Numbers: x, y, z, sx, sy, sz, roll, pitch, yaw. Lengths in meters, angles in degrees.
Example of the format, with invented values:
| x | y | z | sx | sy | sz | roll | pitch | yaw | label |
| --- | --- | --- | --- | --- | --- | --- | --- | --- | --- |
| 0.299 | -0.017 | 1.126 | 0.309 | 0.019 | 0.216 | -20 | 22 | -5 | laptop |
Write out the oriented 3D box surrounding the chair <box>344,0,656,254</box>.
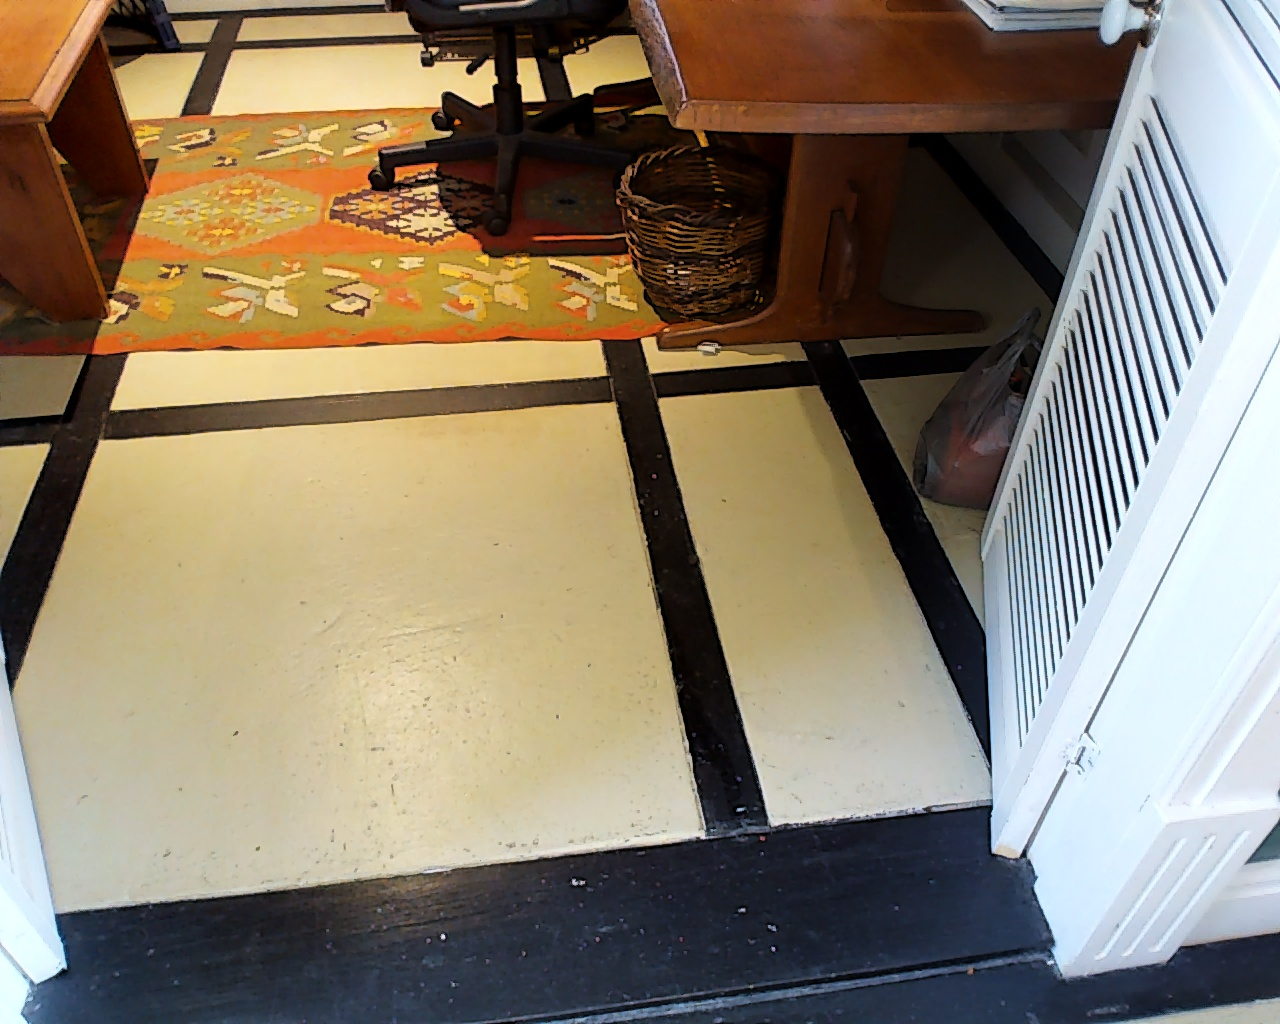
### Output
| x | y | z | sx | sy | sz | roll | pitch | yaw | label |
| --- | --- | --- | --- | --- | --- | --- | --- | --- | --- |
| -0.340 | -1.280 | 2.510 | 0.640 | 1.060 | 0.740 | -5 | 43 | -8 | chair |

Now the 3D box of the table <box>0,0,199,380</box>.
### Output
| x | y | z | sx | sy | sz | roll | pitch | yaw | label |
| --- | --- | --- | --- | --- | --- | --- | --- | --- | --- |
| -1.470 | -0.770 | 2.310 | 0.740 | 0.540 | 0.940 | -5 | 43 | -8 | table |
